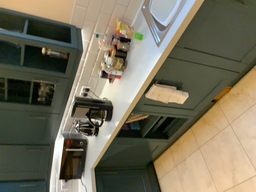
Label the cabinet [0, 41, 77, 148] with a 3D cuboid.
[{"bbox_3d":[-1.060,0.080,2.110,1.170,0.830,0.360,121,146,-42],"label":"cabinet"}]
